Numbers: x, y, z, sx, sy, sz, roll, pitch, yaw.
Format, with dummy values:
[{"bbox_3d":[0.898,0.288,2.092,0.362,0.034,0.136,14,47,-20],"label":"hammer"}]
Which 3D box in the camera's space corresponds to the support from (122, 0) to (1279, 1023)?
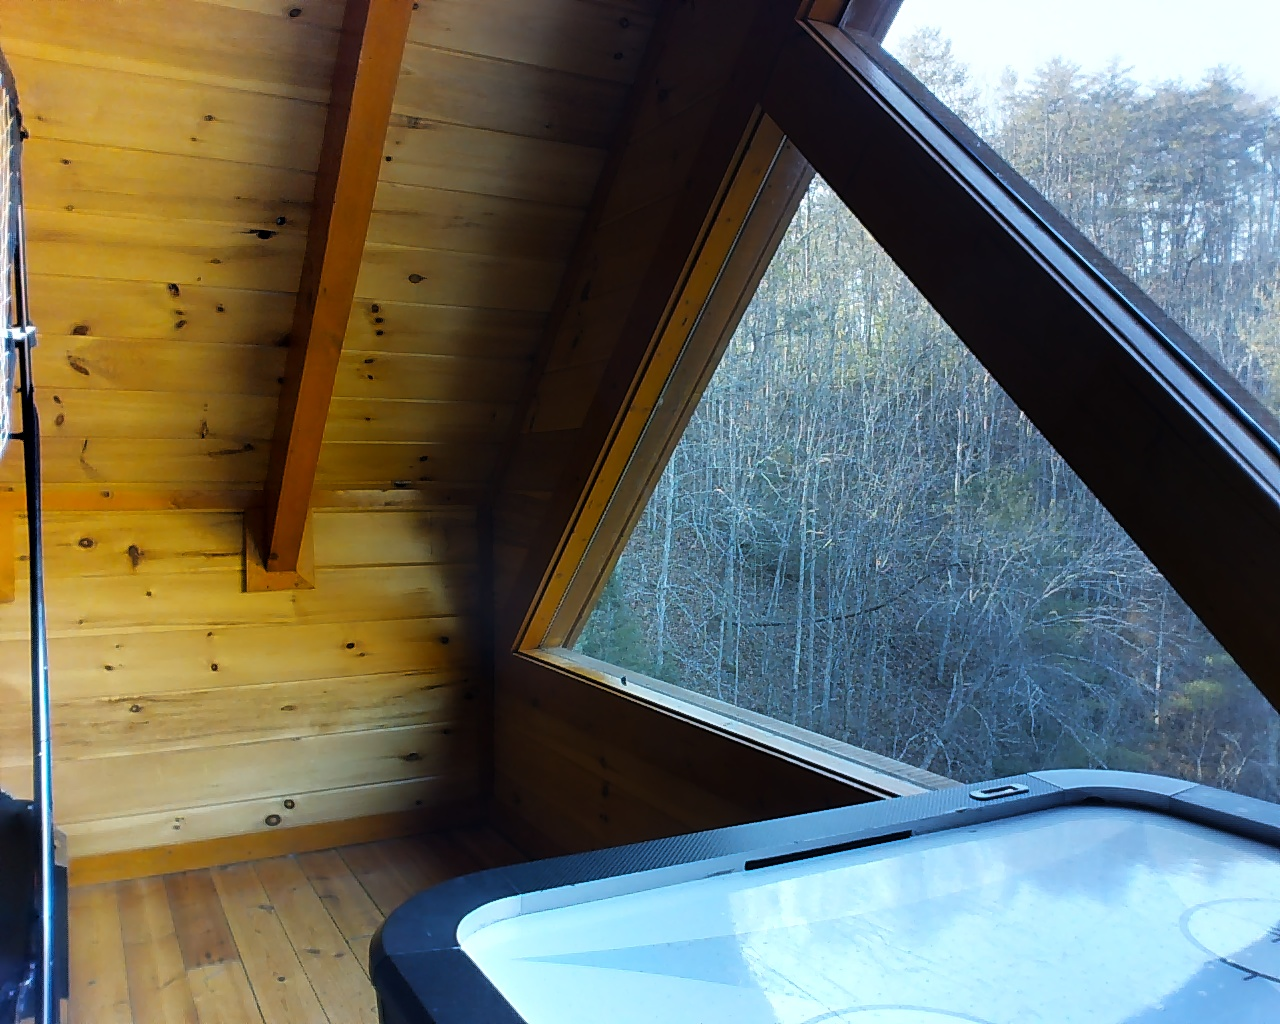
[{"bbox_3d":[0.630,-0.920,0.550,1.320,4.181,6.490,-2,3,-28],"label":"support"}]
